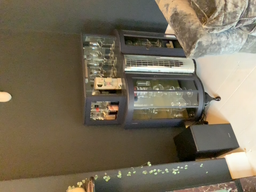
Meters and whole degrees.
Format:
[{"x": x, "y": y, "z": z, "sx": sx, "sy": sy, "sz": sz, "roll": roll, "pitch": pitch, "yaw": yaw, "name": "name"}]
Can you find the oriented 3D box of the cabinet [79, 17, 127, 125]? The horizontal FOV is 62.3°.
[{"x": -0.260, "y": -0.240, "z": 1.890, "sx": 0.310, "sy": 0.290, "sz": 0.930, "roll": 118, "pitch": 147, "yaw": -56, "name": "cabinet"}]
